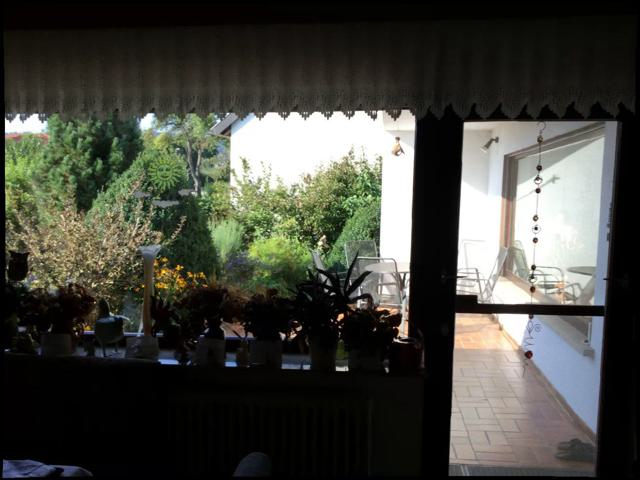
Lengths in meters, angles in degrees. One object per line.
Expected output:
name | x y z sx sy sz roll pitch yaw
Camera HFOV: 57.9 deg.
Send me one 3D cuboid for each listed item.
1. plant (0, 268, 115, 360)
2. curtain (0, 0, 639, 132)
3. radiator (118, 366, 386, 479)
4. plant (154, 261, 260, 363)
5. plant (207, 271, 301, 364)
plant | -1.279 0.340 2.750 0.470 0.360 0.320 1 5 6
curtain | -0.080 -0.711 2.380 4.336 0.490 0.310 1 5 6
radiator | -0.310 0.991 2.740 1.219 0.681 0.250 1 5 6
plant | -0.509 0.320 2.690 0.400 0.400 0.340 1 5 6
plant | -0.300 0.350 2.700 0.390 0.370 0.260 1 5 6
